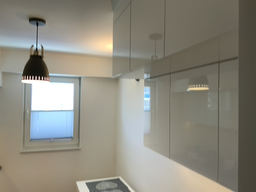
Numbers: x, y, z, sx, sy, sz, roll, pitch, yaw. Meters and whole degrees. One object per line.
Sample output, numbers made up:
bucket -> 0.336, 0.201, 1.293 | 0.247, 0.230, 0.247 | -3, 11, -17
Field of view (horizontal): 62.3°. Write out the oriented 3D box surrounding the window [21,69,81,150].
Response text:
window -> -1.160, 0.200, 3.240 | 0.800, 1.150, 0.200 | 2, -1, -18
